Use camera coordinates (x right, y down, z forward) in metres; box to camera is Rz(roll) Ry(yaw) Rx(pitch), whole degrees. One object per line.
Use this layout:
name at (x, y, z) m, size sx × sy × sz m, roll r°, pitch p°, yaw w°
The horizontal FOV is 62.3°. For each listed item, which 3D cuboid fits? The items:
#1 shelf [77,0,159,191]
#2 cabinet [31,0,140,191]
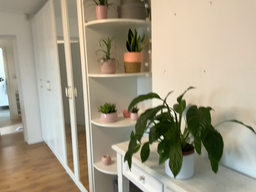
shelf at (-0.070, -0.030, 2.030) m, size 0.620 × 2.480 × 0.360 m, roll -8°, pitch 11°, yaw -31°
cabinet at (-0.790, -0.190, 3.140) m, size 0.660 × 2.470 × 2.320 m, roll -8°, pitch 11°, yaw -31°
